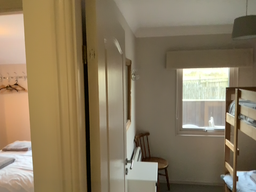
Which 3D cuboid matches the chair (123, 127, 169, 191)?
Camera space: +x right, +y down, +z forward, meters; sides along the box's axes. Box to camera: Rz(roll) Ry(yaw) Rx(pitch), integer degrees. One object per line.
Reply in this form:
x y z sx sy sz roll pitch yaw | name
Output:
0.280 0.950 3.140 0.510 0.820 0.510 3 7 29 | chair
